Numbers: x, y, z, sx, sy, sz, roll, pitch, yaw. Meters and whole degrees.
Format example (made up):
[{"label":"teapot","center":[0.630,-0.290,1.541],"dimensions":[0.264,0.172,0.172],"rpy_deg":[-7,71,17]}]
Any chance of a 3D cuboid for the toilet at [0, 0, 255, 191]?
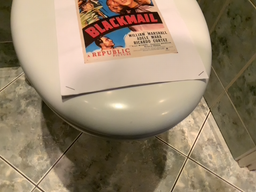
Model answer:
[{"label":"toilet","center":[-0.050,-0.070,0.560],"dimensions":[0.360,0.460,0.510],"rpy_deg":[-6,58,-13]}]
